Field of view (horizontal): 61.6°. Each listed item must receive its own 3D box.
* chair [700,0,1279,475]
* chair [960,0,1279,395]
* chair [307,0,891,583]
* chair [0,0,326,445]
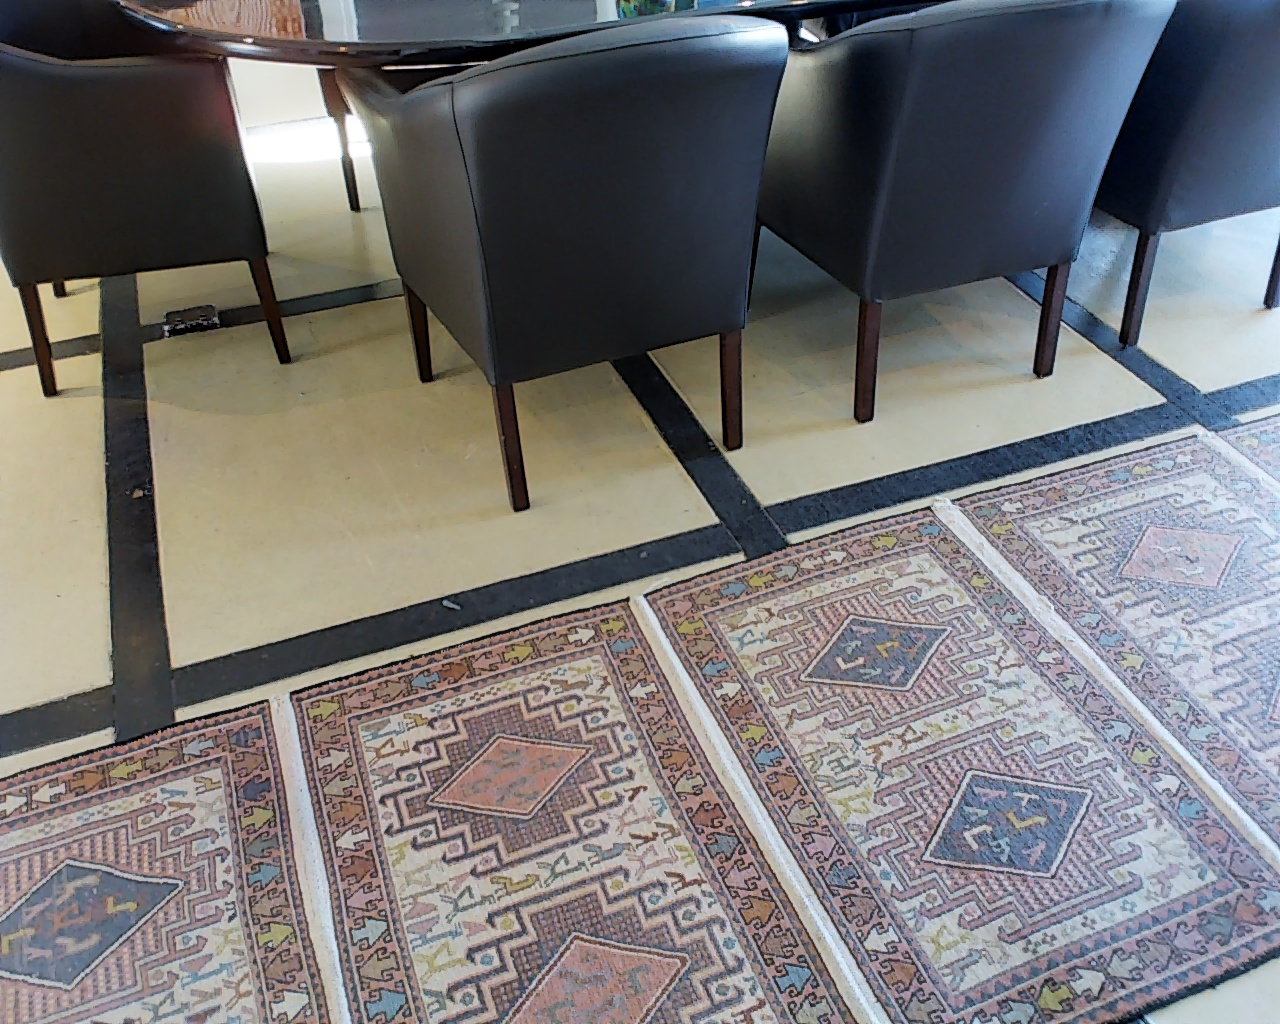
[{"bbox_3d":[0.610,-0.690,2.160,0.720,0.840,0.710,-14,42,-16],"label":"chair"},{"bbox_3d":[1.260,-0.860,2.360,0.640,0.850,0.700,-14,42,-16],"label":"chair"},{"bbox_3d":[-0.110,-0.490,1.920,0.720,0.840,0.690,-14,42,-16],"label":"chair"},{"bbox_3d":[-1.140,-0.740,2.210,0.710,0.860,0.690,-14,42,-16],"label":"chair"}]
